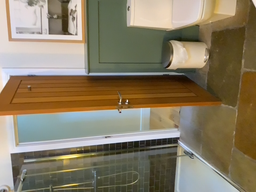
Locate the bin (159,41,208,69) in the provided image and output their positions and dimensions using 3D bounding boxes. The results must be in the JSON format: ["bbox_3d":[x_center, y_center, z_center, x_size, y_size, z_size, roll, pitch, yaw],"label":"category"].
[{"bbox_3d":[0.590,-0.440,2.290,0.250,0.430,0.270,-147,57,-69],"label":"bin"}]
